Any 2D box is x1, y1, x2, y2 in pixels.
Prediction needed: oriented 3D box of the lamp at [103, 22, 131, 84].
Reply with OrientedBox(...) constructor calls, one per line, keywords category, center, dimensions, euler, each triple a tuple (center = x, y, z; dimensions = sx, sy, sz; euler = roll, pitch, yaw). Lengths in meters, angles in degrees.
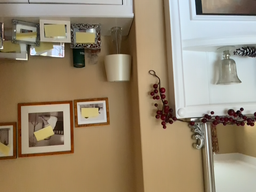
OrientedBox(category="lamp", center=(-0.090, -0.300, 1.560), dimensions=(0.170, 0.380, 0.270), euler=(-3, 176, -8))
